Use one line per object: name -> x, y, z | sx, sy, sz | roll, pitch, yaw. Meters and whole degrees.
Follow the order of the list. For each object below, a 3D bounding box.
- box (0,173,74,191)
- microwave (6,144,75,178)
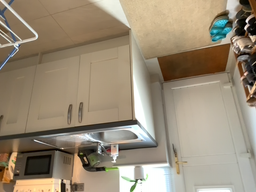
box -> -0.970, 1.040, 2.300 | 0.600, 0.320, 0.430 | -8, 155, 13
microwave -> -0.990, 0.770, 2.470 | 0.590, 0.300, 0.390 | -7, 155, 12
